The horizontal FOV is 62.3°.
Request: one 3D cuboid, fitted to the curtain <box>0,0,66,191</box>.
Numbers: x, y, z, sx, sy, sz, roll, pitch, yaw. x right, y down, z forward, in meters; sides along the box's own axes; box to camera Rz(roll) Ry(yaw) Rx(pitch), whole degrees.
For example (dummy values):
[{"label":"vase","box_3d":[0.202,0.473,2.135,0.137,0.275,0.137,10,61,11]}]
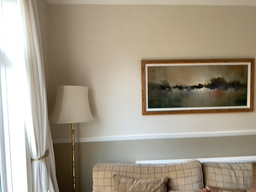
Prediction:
[{"label":"curtain","box_3d":[-0.820,0.330,1.880,0.240,2.590,0.710,-1,4,2]}]
